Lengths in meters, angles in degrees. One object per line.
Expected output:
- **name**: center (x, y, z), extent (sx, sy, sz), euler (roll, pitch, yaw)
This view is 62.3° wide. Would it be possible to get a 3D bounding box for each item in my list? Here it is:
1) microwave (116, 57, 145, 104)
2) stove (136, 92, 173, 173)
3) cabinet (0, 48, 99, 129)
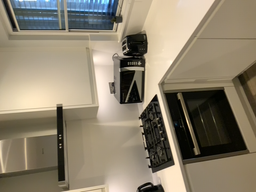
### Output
- **microwave**: center (0.020, -0.180, 2.370), extent (0.230, 0.270, 0.480), euler (-140, 48, -69)
- **stove**: center (0.210, 0.350, 1.910), extent (0.510, 0.040, 0.600), euler (117, 146, -61)
- **cabinet**: center (-0.810, -0.090, 2.050), extent (0.350, 0.950, 0.650), euler (117, 146, -61)
